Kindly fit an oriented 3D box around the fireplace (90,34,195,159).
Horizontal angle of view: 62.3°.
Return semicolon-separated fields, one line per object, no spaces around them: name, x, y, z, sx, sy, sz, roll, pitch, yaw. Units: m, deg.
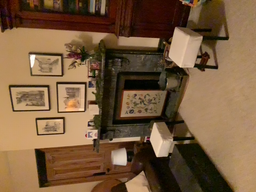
fireplace;0.080;0.060;3.440;0.760;1.220;1.820;-113;28;-53

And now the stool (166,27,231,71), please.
stool;0.760;-0.530;2.380;0.390;0.490;0.350;-116;30;-56

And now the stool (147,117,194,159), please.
stool;0.590;0.600;3.080;0.420;0.460;0.400;-116;30;-56
